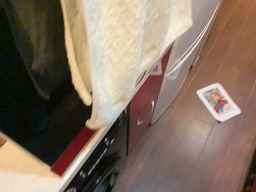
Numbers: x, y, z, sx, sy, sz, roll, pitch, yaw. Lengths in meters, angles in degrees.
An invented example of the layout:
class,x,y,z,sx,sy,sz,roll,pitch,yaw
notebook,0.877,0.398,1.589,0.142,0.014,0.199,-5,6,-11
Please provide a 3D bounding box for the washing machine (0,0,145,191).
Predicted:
class,x,y,z,sx,sy,sz,roll,pitch,yaw
washing machine,-0.350,0.190,0.980,0.610,0.900,0.490,29,63,15
